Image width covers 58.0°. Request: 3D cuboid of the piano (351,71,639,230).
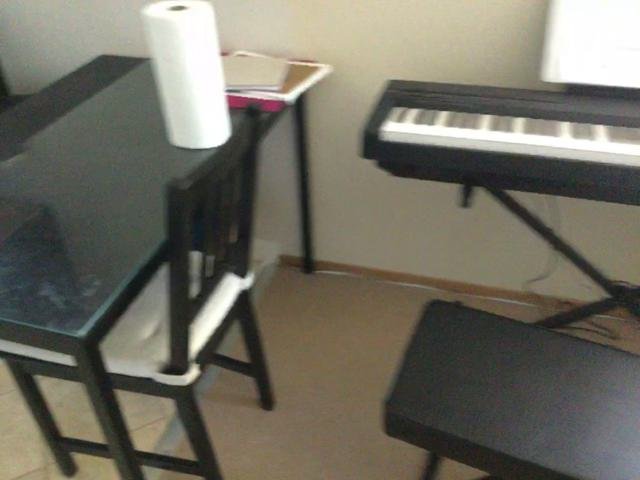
[{"bbox_3d":[0.740,-0.160,1.150,1.320,0.160,0.340,11,35,22],"label":"piano"}]
